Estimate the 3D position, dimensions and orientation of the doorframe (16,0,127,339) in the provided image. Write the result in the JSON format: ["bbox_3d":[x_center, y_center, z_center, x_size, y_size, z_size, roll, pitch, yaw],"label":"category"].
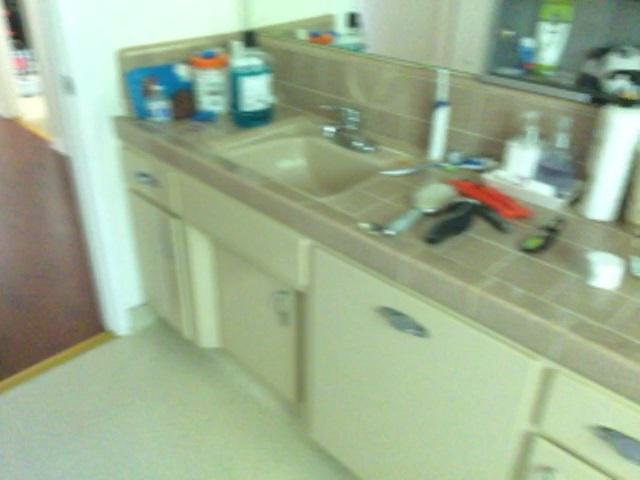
[{"bbox_3d":[-0.790,-0.200,1.880,0.090,1.150,0.180,-21,35,-35],"label":"doorframe"}]
